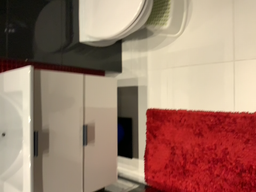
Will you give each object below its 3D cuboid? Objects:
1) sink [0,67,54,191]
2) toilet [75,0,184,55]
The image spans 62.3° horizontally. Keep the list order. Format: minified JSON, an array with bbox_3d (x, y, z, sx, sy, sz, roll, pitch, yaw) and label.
[{"bbox_3d":[-0.550,0.200,1.020,0.470,0.140,0.620,-1,89,40],"label":"sink"},{"bbox_3d":[0.010,-0.500,1.310,0.520,0.430,0.370,0,90,40],"label":"toilet"}]
